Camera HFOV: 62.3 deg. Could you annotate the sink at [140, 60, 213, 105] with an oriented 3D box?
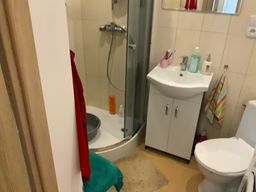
[{"bbox_3d":[0.420,-0.140,1.810,0.510,0.160,0.380,15,29,22],"label":"sink"}]
